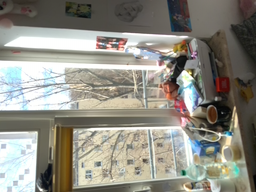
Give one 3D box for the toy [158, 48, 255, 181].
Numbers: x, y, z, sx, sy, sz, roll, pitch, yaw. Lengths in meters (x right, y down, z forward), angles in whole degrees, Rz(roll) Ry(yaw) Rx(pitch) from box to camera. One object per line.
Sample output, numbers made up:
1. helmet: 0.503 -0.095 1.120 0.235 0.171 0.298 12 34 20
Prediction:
1. toy: 0.500 0.130 1.490 0.460 0.380 0.780 134 135 -73
